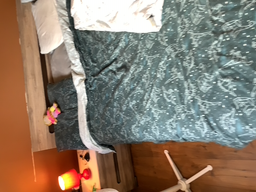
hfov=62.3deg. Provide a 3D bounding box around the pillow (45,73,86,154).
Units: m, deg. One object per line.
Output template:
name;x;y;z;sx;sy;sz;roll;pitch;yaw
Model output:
pillow;-0.620;0.180;2.030;0.460;0.130;0.700;-17;80;50

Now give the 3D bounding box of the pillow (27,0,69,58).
pillow;-0.810;-0.760;2.100;0.510;0.170;0.600;-21;77;50

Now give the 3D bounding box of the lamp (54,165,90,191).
lamp;-0.540;0.780;2.040;0.180;0.260;0.150;-22;77;50

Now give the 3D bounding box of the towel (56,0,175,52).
towel;-0.160;-0.770;1.360;1.160;0.130;0.770;27;114;47
